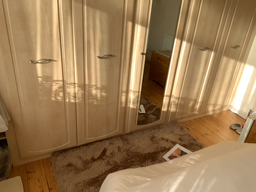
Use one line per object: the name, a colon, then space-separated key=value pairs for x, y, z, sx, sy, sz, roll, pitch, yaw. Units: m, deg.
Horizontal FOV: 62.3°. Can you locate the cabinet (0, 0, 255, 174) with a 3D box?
cabinet: x=0.230 y=-0.770 z=2.020 sx=2.810 sy=2.500 sz=0.480 roll=-10 pitch=32 yaw=-27

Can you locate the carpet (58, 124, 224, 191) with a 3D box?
carpet: x=0.120 y=0.650 z=2.030 sx=1.390 sy=0.100 sz=0.740 roll=-9 pitch=31 yaw=-25
